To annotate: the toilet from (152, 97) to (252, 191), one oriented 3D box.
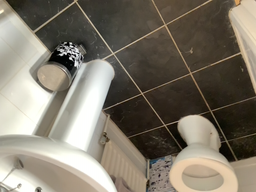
[{"bbox_3d":[0.500,0.580,1.310,0.400,0.840,0.690,-23,122,25],"label":"toilet"}]
